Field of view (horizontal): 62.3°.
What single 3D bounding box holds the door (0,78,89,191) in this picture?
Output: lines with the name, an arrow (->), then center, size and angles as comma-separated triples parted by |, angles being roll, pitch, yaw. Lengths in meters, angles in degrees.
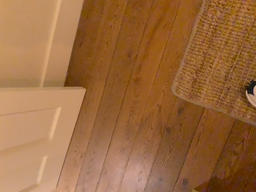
door -> -0.790, 0.310, 0.440 | 0.060, 2.010, 0.730 | 23, 103, 22
